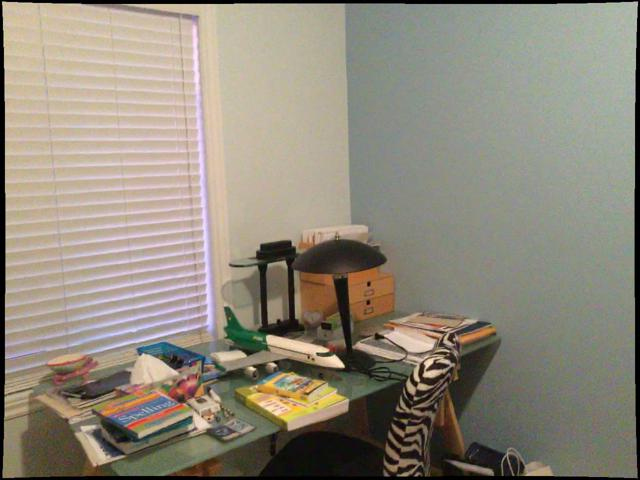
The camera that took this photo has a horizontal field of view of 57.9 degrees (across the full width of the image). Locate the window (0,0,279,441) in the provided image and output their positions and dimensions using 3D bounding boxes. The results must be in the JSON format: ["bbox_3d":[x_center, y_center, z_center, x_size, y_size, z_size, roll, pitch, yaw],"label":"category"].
[{"bbox_3d":[-0.789,-0.150,1.930,1.399,1.411,0.210,-11,13,-40],"label":"window"}]
